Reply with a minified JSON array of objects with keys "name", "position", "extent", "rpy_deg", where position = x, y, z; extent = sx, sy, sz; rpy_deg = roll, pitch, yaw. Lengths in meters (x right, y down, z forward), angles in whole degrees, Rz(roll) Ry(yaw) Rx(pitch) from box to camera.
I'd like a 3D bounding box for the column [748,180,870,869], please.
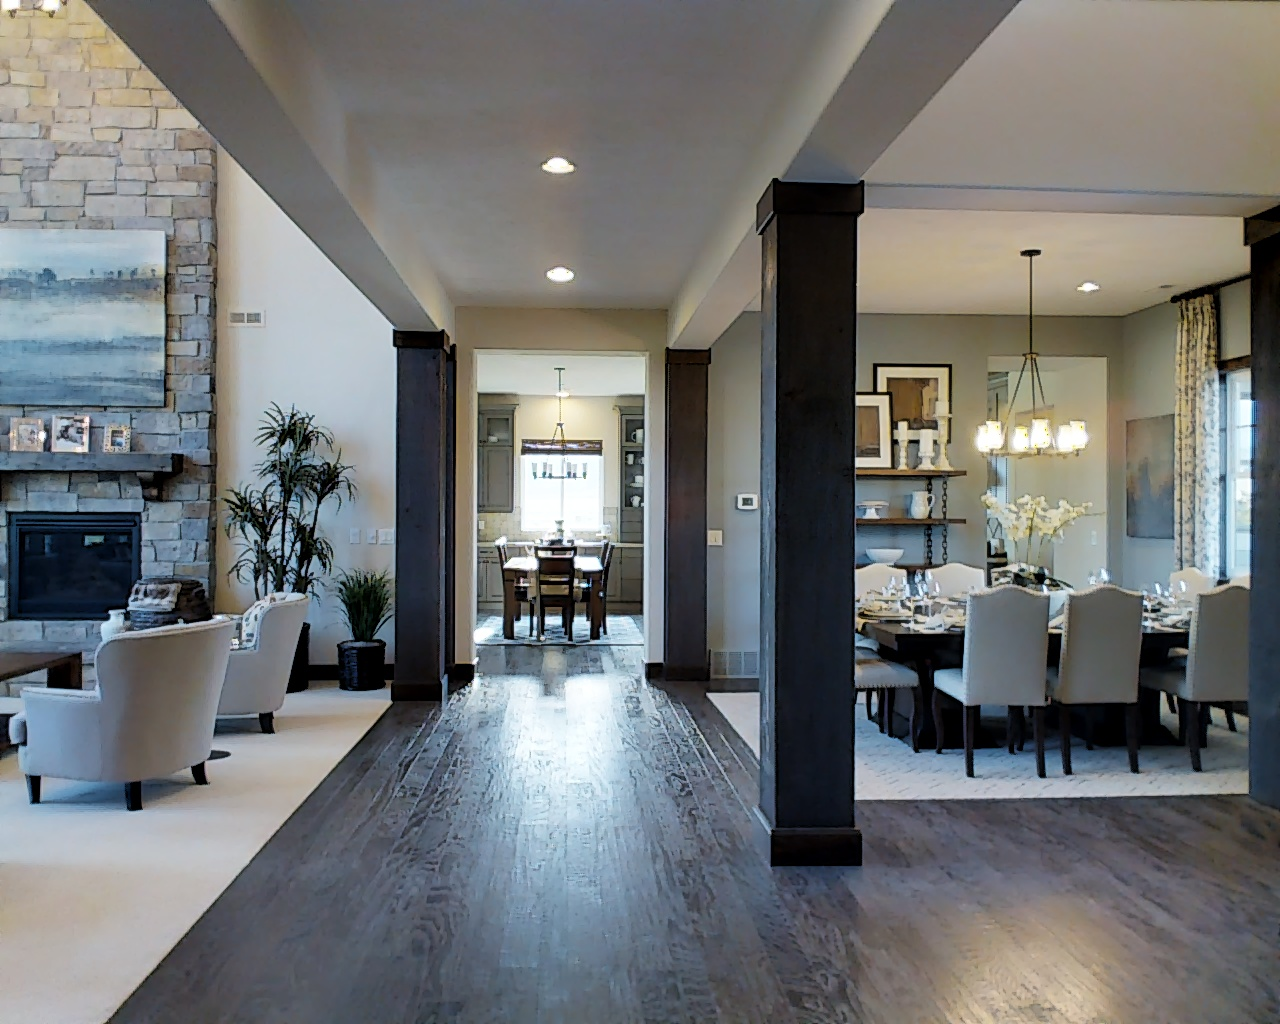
[{"name":"column","position":[0.680,0.050,4.370],"extent":[0.410,2.680,0.390],"rpy_deg":[0,0,-4]}]
